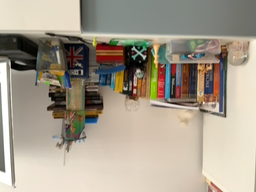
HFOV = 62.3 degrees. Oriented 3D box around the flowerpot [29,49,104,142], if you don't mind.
[{"bbox_3d":[-0.250,-0.010,0.940,0.270,0.350,0.250,-1,-177,-8],"label":"flowerpot"}]
